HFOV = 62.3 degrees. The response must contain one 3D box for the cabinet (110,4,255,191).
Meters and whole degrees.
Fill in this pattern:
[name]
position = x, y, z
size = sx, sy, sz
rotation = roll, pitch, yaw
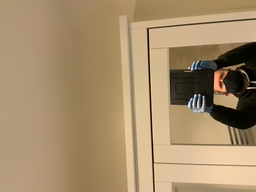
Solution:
[cabinet]
position = 0.480, 0.190, 0.590
size = 0.160, 1.010, 0.840
rotation = -30, -62, -78
